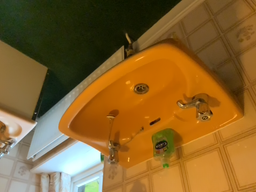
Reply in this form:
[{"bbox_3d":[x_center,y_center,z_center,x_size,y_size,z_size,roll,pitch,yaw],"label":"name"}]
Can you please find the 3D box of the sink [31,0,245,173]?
[{"bbox_3d":[0.000,0.030,0.800,0.410,0.250,0.620,30,130,-32],"label":"sink"}]
